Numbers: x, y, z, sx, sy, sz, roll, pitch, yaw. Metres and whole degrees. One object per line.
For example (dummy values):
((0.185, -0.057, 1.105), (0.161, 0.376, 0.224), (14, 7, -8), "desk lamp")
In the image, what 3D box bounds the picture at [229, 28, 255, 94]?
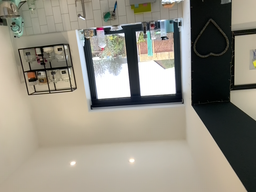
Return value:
((1.590, -0.430, 2.590), (0.650, 0.770, 0.070), (-5, -166, 5), "picture")
